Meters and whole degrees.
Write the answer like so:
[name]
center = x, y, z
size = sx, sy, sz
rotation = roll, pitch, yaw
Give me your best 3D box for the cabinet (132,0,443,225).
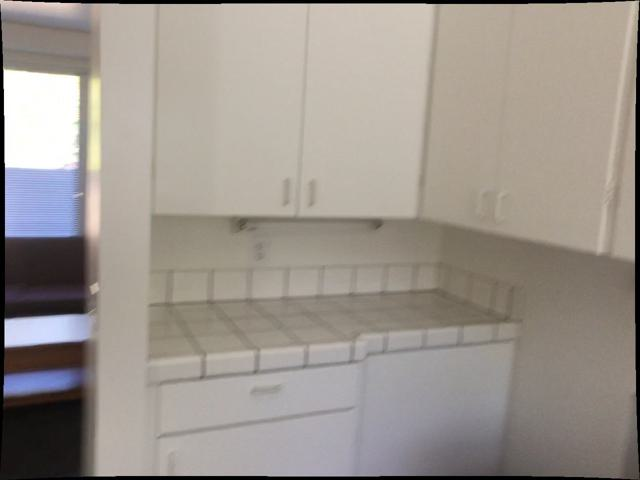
[cabinet]
center = -0.070, -0.611, 1.860
size = 1.009, 1.112, 0.140
rotation = -1, 7, -25
